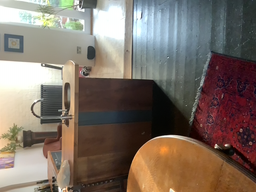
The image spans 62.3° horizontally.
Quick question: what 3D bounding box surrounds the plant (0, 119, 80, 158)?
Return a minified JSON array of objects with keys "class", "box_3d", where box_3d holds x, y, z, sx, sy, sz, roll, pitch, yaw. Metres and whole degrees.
[{"class":"plant","box_3d":[-2.490,1.100,5.760,0.720,2.190,0.690,11,101,63]}]
